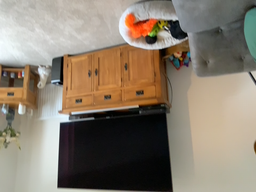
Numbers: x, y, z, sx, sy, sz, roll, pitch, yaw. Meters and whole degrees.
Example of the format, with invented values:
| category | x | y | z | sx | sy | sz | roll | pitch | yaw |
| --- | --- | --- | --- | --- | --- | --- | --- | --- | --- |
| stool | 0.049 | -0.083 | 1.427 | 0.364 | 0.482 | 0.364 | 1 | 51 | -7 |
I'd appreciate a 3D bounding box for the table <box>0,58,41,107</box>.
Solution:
| category | x | y | z | sx | sy | sz | roll | pitch | yaw |
| --- | --- | --- | --- | --- | --- | --- | --- | --- | --- |
| table | -1.680 | -0.180 | 3.180 | 0.520 | 0.590 | 0.530 | 0 | 166 | -6 |
